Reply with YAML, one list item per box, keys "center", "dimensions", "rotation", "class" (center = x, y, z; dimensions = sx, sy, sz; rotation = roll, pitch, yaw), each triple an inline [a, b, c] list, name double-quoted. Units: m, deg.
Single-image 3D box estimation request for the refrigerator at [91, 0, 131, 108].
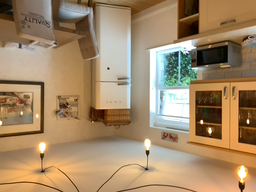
- center: [-0.310, -0.670, 3.660]
  dimensions: [0.590, 1.700, 0.560]
  rotation: [0, -179, -16]
  class: "refrigerator"
